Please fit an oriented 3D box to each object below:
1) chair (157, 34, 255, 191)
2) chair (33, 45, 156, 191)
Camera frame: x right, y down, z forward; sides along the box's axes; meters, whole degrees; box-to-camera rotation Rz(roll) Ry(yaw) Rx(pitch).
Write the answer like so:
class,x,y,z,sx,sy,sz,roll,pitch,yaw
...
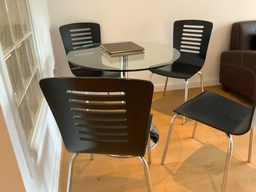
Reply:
class,x,y,z,sx,sy,sz,roll,pitch,yaw
chair,0.540,0.090,1.370,0.430,0.840,0.500,-22,33,-37
chair,-0.090,0.210,1.130,0.430,0.840,0.500,2,26,6
